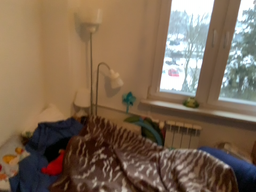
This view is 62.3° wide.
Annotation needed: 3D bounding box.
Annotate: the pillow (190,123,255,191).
[{"bbox_3d":[0.830,0.500,1.720,0.560,0.240,0.580,9,20,10],"label":"pillow"}]
